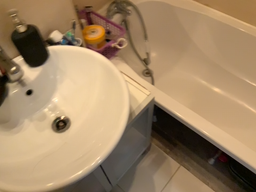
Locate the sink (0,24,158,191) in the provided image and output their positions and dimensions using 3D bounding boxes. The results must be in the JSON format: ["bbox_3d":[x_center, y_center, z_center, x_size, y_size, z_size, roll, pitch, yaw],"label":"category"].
[{"bbox_3d":[-0.230,0.050,0.660,0.450,0.160,0.450,36,66,23],"label":"sink"}]
